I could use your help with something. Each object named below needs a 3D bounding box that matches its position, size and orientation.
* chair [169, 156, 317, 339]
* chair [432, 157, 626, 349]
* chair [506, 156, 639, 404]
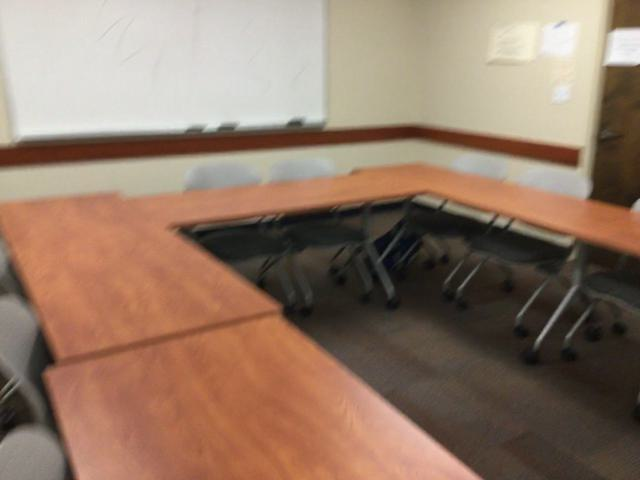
[{"bbox_3d":[-0.420,0.000,3.170,0.590,0.800,0.550,-10,20,-32],"label":"chair"},{"bbox_3d":[1.090,0.020,3.130,0.550,0.800,0.710,-10,20,-32],"label":"chair"},{"bbox_3d":[1.390,0.120,2.610,0.660,0.850,0.710,-10,20,-32],"label":"chair"}]
